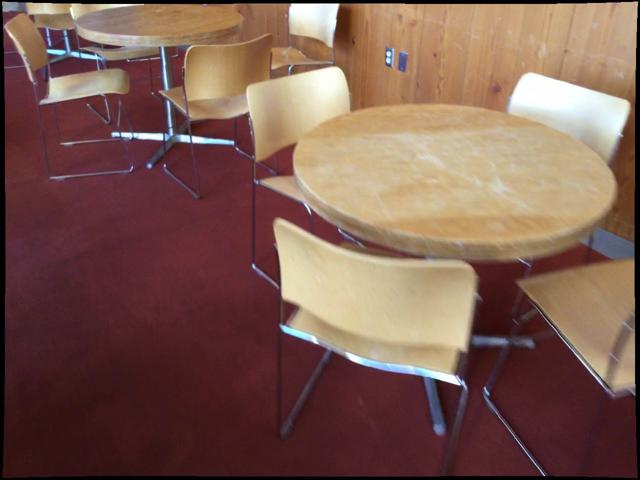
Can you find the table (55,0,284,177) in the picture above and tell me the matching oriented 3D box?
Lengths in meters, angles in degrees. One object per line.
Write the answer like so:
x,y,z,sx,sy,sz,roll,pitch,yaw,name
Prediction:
-0.849,-0.981,3.370,0.939,0.720,0.870,-22,40,-30,table
